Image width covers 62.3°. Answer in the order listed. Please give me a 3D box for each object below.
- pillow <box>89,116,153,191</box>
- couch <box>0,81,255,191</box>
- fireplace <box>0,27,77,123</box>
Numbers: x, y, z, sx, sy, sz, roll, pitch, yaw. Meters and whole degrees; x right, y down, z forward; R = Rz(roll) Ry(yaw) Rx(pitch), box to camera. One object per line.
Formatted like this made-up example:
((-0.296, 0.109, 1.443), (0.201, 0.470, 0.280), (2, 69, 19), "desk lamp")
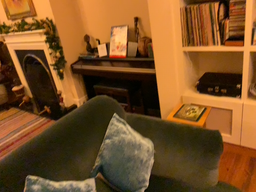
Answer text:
((-0.010, 0.390, 1.300), (0.160, 0.420, 0.380), (9, 66, 23), "pillow")
((-0.030, 0.610, 1.100), (1.080, 0.840, 1.330), (9, 31, 35), "couch")
((-1.570, -0.350, 3.290), (1.360, 1.230, 0.440), (9, 31, 35), "fireplace")
